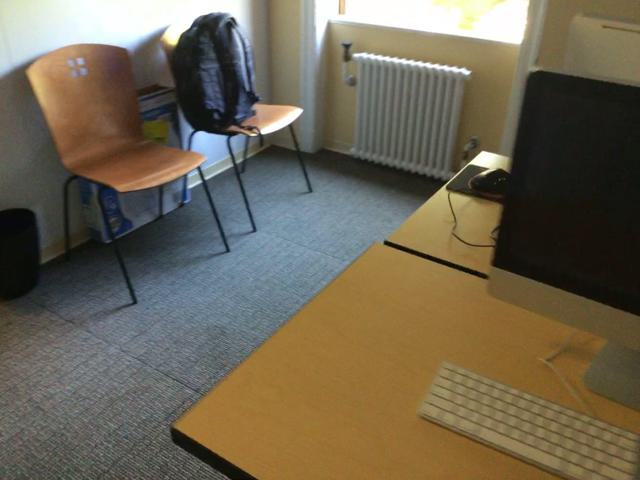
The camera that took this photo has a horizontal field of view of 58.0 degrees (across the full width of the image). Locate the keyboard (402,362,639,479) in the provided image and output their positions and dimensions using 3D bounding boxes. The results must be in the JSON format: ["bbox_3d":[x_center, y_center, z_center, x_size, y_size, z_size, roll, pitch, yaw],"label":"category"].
[{"bbox_3d":[0.330,0.290,0.740,0.430,0.020,0.140,20,35,29],"label":"keyboard"}]

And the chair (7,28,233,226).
[{"bbox_3d":[-0.720,-0.460,2.190,0.530,0.520,0.530,20,35,29],"label":"chair"}]

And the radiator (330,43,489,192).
[{"bbox_3d":[0.420,-0.640,2.970,0.780,0.600,0.120,20,35,29],"label":"radiator"}]

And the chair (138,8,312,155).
[{"bbox_3d":[-0.400,-0.730,2.570,0.540,0.460,0.490,20,35,29],"label":"chair"}]
